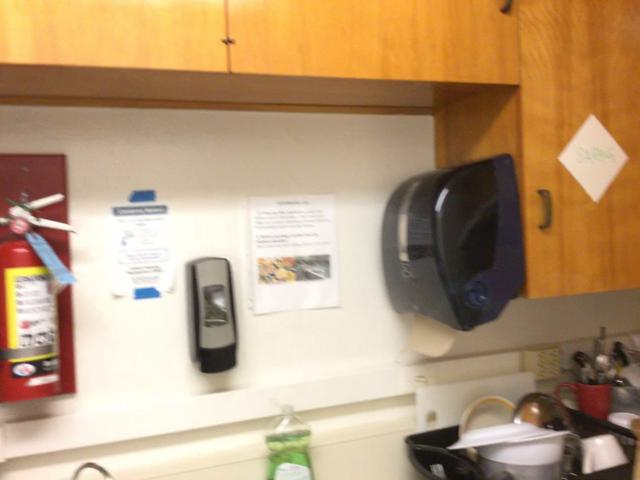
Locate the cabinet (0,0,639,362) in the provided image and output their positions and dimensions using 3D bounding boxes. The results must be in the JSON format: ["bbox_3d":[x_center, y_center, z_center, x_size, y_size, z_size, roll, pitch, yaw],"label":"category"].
[{"bbox_3d":[-0.330,-0.350,1.100,2.290,1.040,0.360,-3,1,-19],"label":"cabinet"}]

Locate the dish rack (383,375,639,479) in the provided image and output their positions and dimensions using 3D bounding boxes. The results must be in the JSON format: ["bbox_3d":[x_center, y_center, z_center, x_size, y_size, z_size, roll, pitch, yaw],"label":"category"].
[{"bbox_3d":[0.520,0.490,1.250,0.620,0.220,0.450,-3,1,-19],"label":"dish rack"}]

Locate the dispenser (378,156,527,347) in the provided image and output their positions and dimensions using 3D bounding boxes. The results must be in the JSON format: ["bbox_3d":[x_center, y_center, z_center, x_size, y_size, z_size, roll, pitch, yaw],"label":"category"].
[{"bbox_3d":[0.290,0.020,1.340,0.160,0.380,0.350,-3,1,-19],"label":"dispenser"}]
